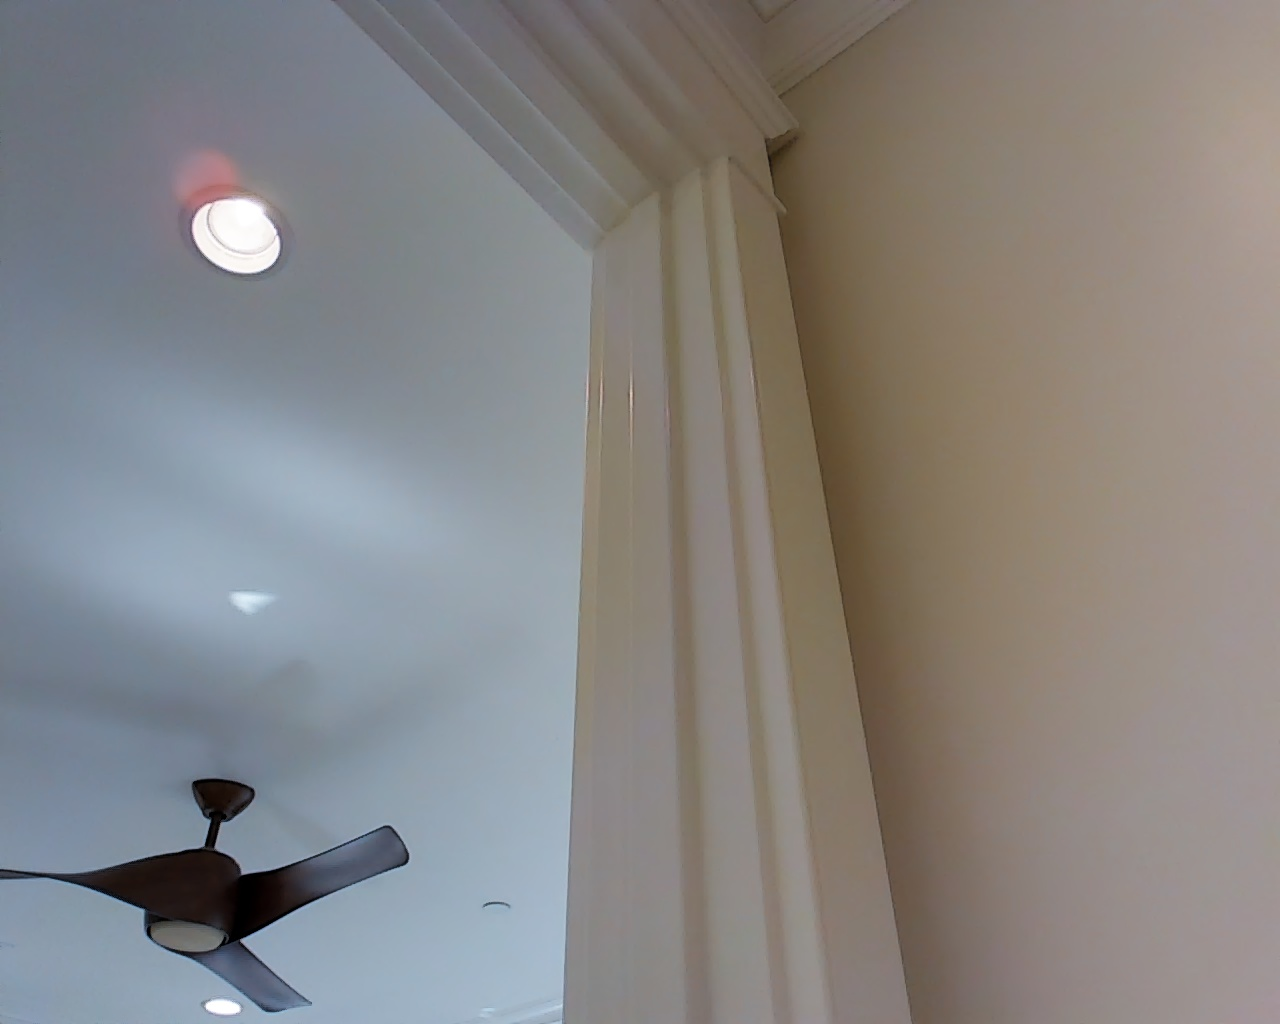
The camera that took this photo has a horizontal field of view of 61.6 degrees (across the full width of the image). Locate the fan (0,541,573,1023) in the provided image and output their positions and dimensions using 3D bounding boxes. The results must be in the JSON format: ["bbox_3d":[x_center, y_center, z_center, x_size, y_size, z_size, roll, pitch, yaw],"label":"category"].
[{"bbox_3d":[-1.109,1.031,2.720,1.420,1.330,0.380,39,-10,-34],"label":"fan"}]
